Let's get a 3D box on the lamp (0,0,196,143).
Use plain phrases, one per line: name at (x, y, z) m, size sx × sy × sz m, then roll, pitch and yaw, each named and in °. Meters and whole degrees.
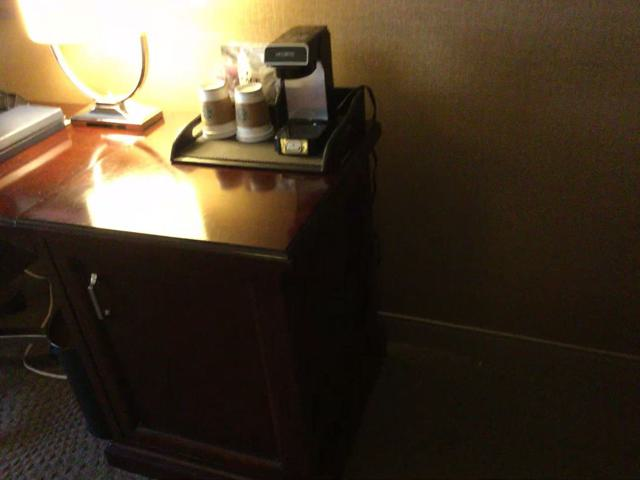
lamp at (-0.560, -0.530, 1.450) m, size 0.350 × 0.420 × 0.360 m, roll 8°, pitch 34°, yaw 8°
